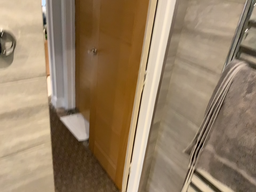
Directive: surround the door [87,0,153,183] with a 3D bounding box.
[{"bbox_3d":[-0.110,-0.250,1.460,0.020,1.880,0.600,-14,36,-34],"label":"door"}]
